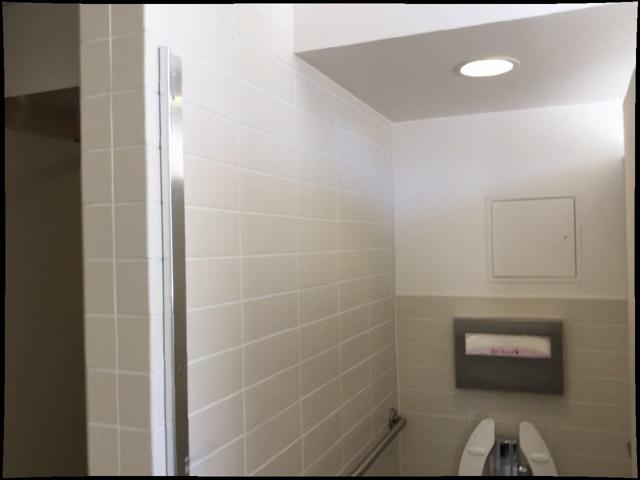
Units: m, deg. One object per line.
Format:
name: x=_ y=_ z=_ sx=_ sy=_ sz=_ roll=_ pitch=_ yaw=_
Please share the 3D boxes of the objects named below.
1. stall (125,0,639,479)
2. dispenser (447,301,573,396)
stall: x=0.440 y=0.430 z=1.510 sx=0.939 sy=2.092 sz=1.620 roll=-1 pitch=-1 yaw=23
dispenser: x=0.709 y=0.400 z=2.180 sx=0.440 sy=0.320 sz=0.070 roll=-1 pitch=-1 yaw=23
